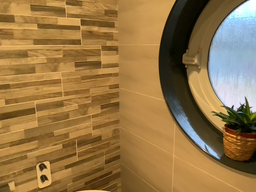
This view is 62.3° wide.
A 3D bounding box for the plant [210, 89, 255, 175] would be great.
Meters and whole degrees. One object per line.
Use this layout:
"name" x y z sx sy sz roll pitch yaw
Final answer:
"plant" 0.550 0.150 0.960 0.190 0.300 0.250 -11 18 -36
